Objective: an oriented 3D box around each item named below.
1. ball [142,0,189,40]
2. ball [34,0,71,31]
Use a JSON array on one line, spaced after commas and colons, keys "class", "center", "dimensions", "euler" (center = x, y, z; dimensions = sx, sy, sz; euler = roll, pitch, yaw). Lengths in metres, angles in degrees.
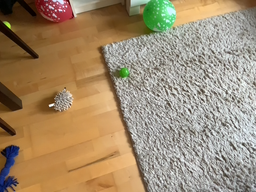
[{"class": "ball", "center": [0.250, -0.570, 1.480], "dimensions": [0.230, 0.210, 0.220], "euler": [-16, 66, -7]}, {"class": "ball", "center": [-0.560, -0.690, 1.540], "dimensions": [0.190, 0.160, 0.370], "euler": [-15, 66, -7]}]
